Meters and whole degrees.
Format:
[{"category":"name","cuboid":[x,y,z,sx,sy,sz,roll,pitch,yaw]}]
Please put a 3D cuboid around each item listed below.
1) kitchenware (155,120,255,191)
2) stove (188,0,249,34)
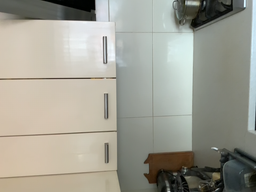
[{"category":"kitchenware","cuboid":[0.380,0.480,1.200,0.600,0.280,0.500,-124,34,-75]},{"category":"stove","cuboid":[0.490,-0.700,1.210,0.560,0.040,0.580,-143,53,-79]}]
